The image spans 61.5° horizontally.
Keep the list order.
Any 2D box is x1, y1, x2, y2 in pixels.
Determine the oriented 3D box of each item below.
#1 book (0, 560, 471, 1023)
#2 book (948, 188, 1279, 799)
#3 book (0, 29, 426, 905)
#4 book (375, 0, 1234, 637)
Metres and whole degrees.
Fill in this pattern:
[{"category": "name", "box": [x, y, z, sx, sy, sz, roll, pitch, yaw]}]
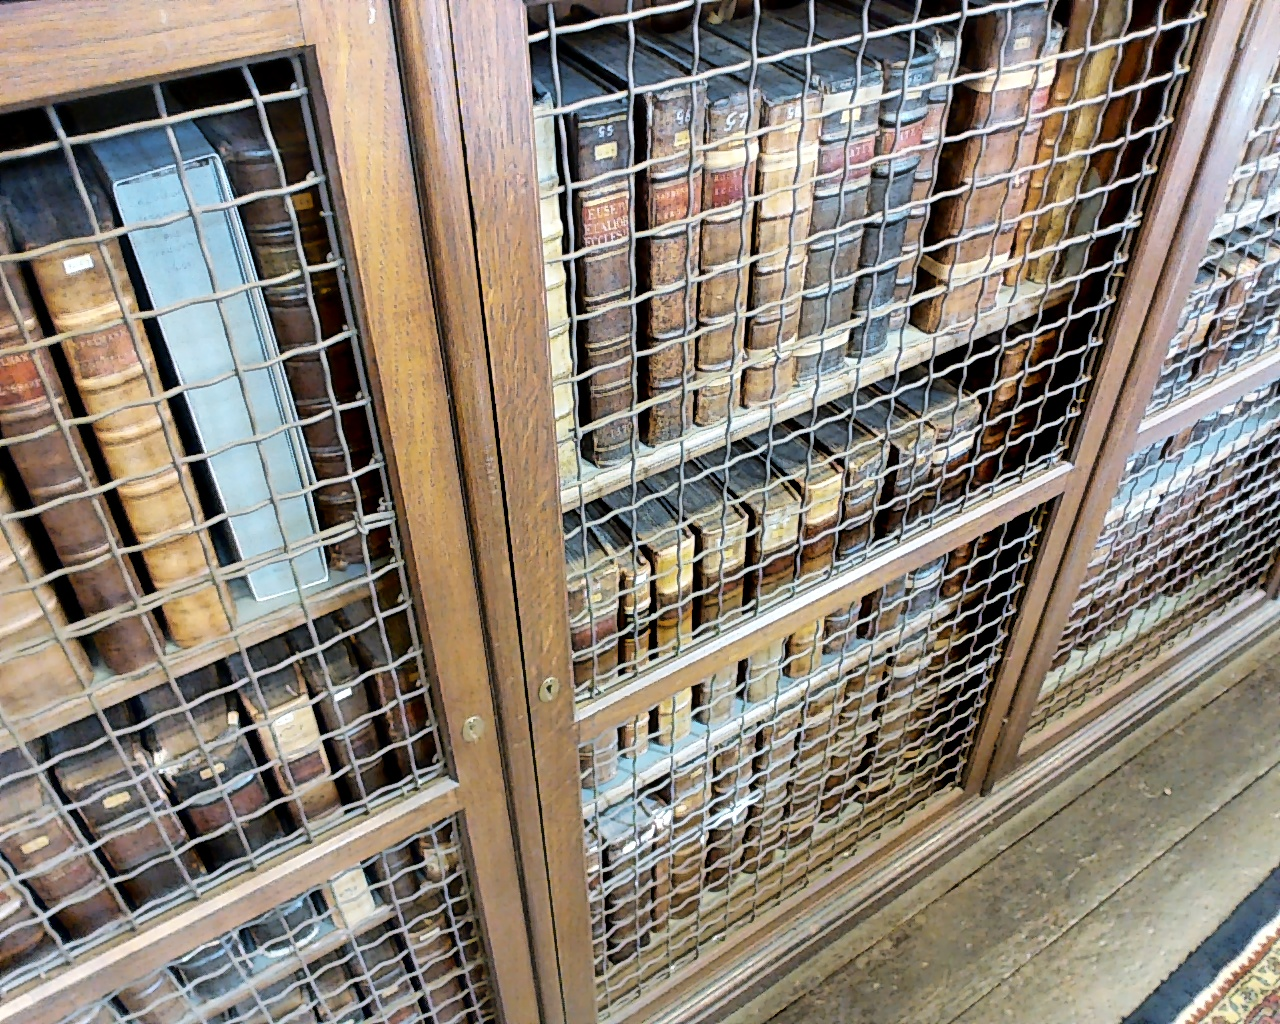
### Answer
[{"category": "book", "box": [-0.520, 0.520, 1.040, 0.660, 0.790, 0.180, -26, 47, -27]}, {"category": "book", "box": [0.860, -0.040, 1.660, 0.690, 0.840, 0.190, -25, 46, -26]}, {"category": "book", "box": [-0.490, 0.060, 0.590, 0.680, 0.490, 0.110, -20, 45, -22]}, {"category": "book", "box": [0.160, -0.260, 0.940, 0.670, 0.470, 0.230, -24, 46, -25]}]
